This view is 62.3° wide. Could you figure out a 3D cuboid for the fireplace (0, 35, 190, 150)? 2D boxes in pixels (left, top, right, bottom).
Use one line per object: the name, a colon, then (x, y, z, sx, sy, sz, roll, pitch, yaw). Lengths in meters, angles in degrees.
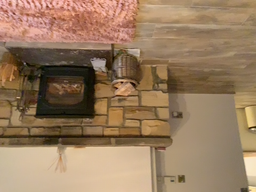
fireplace: (-0.690, 0.070, 2.400, 2.360, 0.980, 1.110, 1, 163, -4)
